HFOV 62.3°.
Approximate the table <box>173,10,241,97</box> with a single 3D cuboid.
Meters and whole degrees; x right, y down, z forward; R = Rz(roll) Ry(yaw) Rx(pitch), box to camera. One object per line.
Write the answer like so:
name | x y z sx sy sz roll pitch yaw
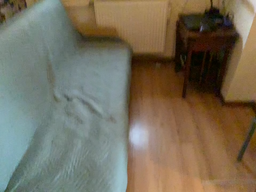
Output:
table | 0.780 -0.480 2.310 0.430 0.660 0.740 2 38 5
